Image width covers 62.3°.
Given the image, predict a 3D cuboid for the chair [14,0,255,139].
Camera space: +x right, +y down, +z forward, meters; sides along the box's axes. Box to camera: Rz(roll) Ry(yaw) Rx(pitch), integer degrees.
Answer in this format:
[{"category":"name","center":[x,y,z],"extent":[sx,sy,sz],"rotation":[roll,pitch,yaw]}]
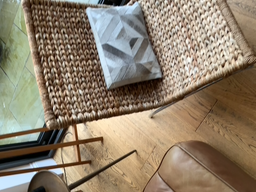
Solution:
[{"category":"chair","center":[0.070,-0.270,1.000],"extent":[0.730,0.740,0.660],"rotation":[-28,72,31]}]

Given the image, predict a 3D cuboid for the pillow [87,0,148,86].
[{"category":"pillow","center":[-0.030,-0.280,1.020],"extent":[0.080,0.300,0.410],"rotation":[-25,102,12]}]
